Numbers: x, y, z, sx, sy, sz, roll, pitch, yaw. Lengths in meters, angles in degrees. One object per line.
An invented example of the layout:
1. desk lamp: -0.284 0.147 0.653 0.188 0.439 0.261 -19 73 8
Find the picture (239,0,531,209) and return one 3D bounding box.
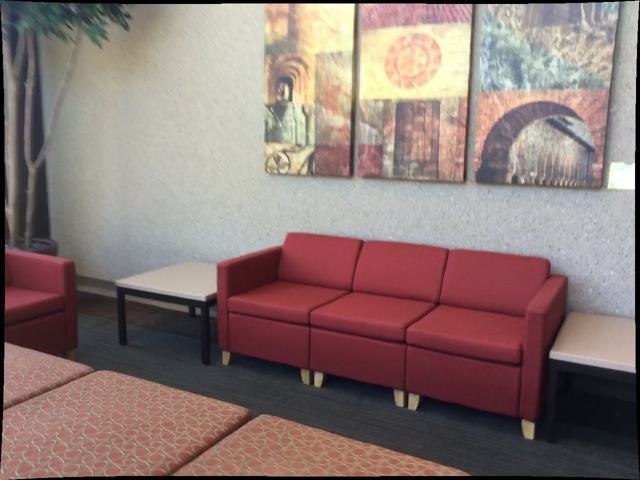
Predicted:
1. picture: 0.300 -1.082 3.560 1.848 1.643 0.200 6 12 30
